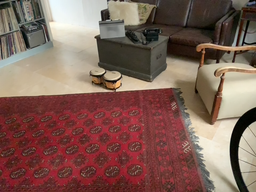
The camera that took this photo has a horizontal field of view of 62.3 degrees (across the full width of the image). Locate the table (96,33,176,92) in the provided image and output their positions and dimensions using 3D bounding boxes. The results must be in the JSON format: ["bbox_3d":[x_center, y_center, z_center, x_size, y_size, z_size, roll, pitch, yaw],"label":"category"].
[{"bbox_3d":[0.100,-0.480,2.810,0.900,0.450,0.460,19,40,29],"label":"table"}]

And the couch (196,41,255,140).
[{"bbox_3d":[1.090,-0.070,1.920,0.670,0.680,0.570,-3,33,-1],"label":"couch"}]
